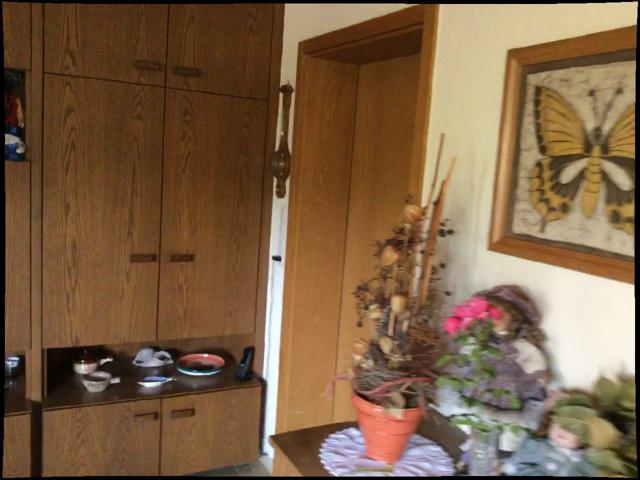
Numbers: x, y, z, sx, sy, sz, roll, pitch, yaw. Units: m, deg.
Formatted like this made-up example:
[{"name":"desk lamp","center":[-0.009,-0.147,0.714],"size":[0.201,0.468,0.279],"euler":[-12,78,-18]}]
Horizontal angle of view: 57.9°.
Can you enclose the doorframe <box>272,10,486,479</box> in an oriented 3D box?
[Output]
[{"name":"doorframe","center":[0.160,0.200,2.330],"size":[0.290,1.962,0.810],"euler":[0,9,-28]}]

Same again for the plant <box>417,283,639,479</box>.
[{"name":"plant","center":[0.430,0.320,1.250],"size":[0.250,0.380,0.330],"euler":[0,9,-28]}]

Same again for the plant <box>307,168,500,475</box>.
[{"name":"plant","center":[0.190,0.170,1.470],"size":[0.270,0.671,0.350],"euler":[0,9,-28]}]

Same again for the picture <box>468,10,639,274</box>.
[{"name":"picture","center":[0.579,-0.220,1.300],"size":[0.030,0.521,0.600],"euler":[0,9,-28]}]
